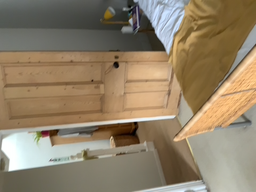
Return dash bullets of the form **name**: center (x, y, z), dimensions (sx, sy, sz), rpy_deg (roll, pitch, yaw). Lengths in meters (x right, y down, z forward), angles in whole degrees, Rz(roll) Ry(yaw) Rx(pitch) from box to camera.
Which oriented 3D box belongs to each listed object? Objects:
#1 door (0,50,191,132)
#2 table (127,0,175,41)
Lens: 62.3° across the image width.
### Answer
- **door**: center (-0.330, -0.080, 2.280), dimensions (0.080, 2.090, 0.800), rpy_deg (-126, 36, -62)
- **table**: center (0.270, -0.950, 2.690), dimensions (0.340, 0.460, 0.340), rpy_deg (110, 152, -54)
